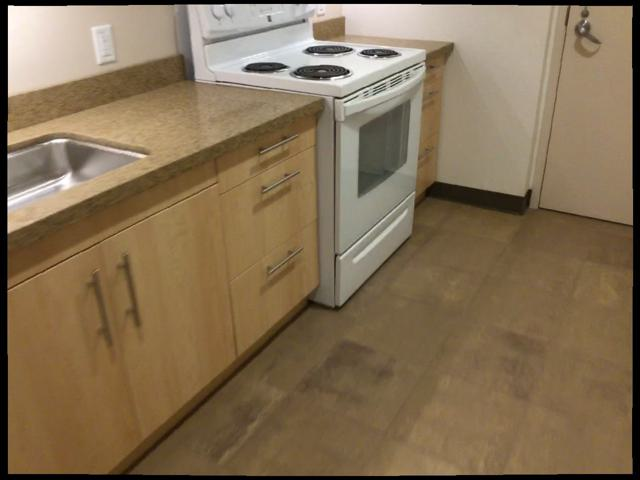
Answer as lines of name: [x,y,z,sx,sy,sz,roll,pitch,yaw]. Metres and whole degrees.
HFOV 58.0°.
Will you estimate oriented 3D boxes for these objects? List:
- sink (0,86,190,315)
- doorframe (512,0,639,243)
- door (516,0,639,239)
sink: [-0.808,-0.130,1.450,0.589,0.290,0.700,16,33,29]
doorframe: [1.497,-0.802,2.490,1.049,1.713,0.200,16,33,30]
door: [1.527,-0.611,2.620,1.049,1.242,0.200,16,33,30]
